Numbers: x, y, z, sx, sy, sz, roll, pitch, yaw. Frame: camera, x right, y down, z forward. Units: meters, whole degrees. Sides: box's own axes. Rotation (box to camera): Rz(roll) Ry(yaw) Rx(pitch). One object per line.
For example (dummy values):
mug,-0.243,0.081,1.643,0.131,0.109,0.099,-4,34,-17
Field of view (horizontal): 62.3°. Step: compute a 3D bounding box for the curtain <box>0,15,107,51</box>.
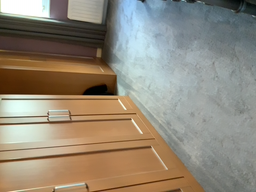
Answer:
curtain,-1.470,-0.970,3.170,0.150,2.320,0.330,-130,46,-55
